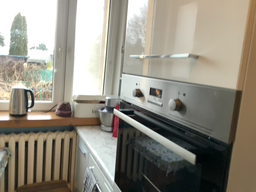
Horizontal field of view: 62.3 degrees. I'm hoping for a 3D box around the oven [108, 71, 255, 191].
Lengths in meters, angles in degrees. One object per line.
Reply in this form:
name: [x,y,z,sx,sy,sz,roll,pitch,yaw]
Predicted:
oven: [0.330,0.240,0.860,0.600,0.590,0.600,2,9,-27]
